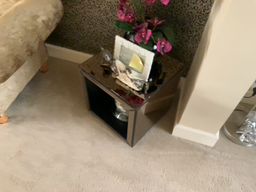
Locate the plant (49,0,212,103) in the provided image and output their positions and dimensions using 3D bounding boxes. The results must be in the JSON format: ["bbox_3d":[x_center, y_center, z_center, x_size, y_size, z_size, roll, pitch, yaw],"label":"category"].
[{"bbox_3d":[0.000,-0.460,1.020,0.670,0.680,0.400,31,56,19],"label":"plant"}]
